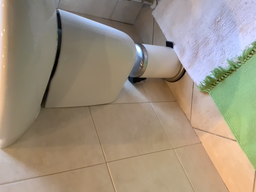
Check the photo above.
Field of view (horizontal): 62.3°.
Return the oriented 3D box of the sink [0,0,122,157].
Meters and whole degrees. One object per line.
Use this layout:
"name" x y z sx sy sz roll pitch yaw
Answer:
"sink" -0.310 -0.220 0.640 0.470 0.200 0.630 -53 49 41
